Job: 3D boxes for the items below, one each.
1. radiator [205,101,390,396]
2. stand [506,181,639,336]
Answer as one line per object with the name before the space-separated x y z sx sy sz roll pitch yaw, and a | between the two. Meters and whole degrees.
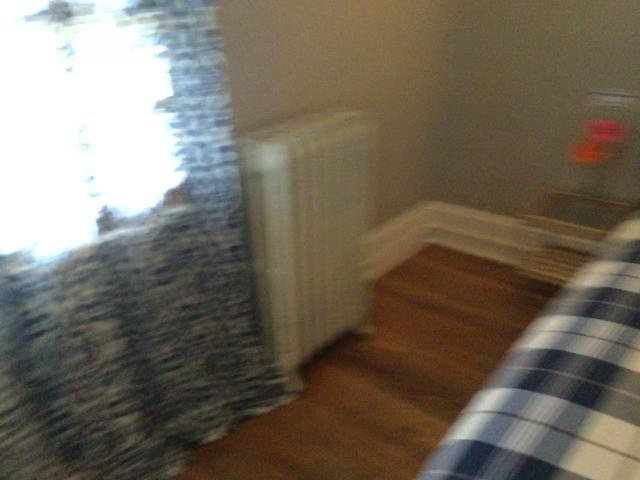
radiator | -0.040 0.020 2.200 0.290 0.940 0.550 18 36 40
stand | 1.110 0.060 2.500 0.440 0.470 0.370 17 33 39
